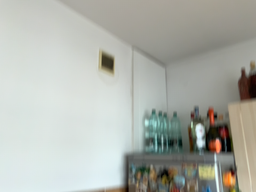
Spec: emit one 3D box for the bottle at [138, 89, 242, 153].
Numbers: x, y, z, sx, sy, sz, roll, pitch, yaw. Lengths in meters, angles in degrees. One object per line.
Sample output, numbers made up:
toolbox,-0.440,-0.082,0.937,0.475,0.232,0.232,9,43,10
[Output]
bottle,0.470,0.240,1.640,0.590,0.370,0.510,-13,-20,38
